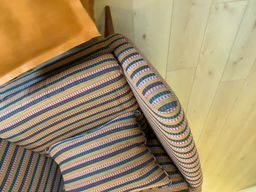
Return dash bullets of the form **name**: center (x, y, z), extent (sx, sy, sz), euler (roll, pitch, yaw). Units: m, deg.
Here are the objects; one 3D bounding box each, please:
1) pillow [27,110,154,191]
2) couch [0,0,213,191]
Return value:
- **pillow**: center (-0.130, 0.290, 0.940), extent (0.440, 0.350, 0.180), euler (-25, 105, 12)
- **couch**: center (-0.160, 0.230, 1.060), extent (0.890, 0.790, 0.830), euler (-21, 139, 12)
